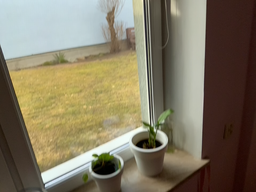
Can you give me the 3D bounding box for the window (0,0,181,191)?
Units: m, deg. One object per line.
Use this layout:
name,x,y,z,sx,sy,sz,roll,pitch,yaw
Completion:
window,-0.450,0.110,0.740,1.820,2.490,0.160,-22,27,-34
